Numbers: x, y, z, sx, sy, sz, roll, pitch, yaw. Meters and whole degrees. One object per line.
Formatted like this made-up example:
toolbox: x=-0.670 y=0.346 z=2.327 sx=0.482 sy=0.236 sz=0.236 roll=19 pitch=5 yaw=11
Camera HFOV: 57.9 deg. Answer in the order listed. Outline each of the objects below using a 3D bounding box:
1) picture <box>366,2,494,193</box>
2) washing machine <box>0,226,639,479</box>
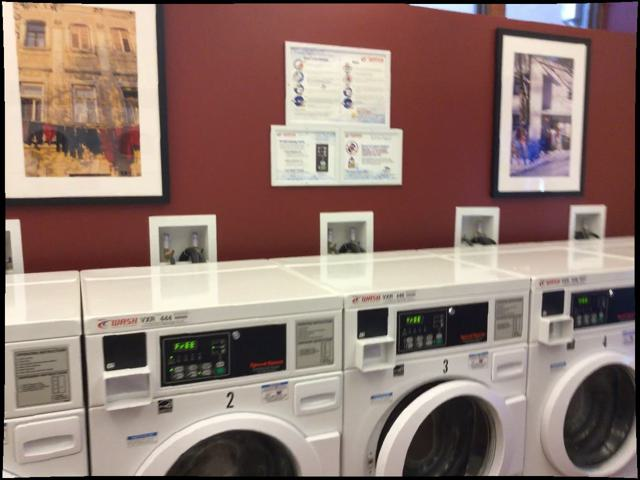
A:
picture: x=0.490 y=-0.611 z=2.560 sx=0.599 sy=0.781 sz=0.070 roll=-4 pitch=9 yaw=-21
washing machine: x=-0.040 y=0.621 z=2.050 sx=2.788 sy=1.081 sz=1.000 roll=-4 pitch=9 yaw=-21
